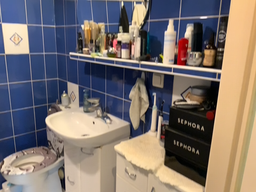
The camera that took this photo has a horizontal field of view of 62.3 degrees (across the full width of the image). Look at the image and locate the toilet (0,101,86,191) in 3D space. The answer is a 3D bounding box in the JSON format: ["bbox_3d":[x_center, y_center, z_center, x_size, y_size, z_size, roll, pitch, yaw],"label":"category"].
[{"bbox_3d":[-0.760,0.520,1.900,0.640,0.790,0.360,-12,20,-42],"label":"toilet"}]

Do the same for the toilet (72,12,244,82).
[{"bbox_3d":[0.010,-0.310,1.250,0.190,0.240,1.180,-10,19,-37],"label":"toilet"}]
